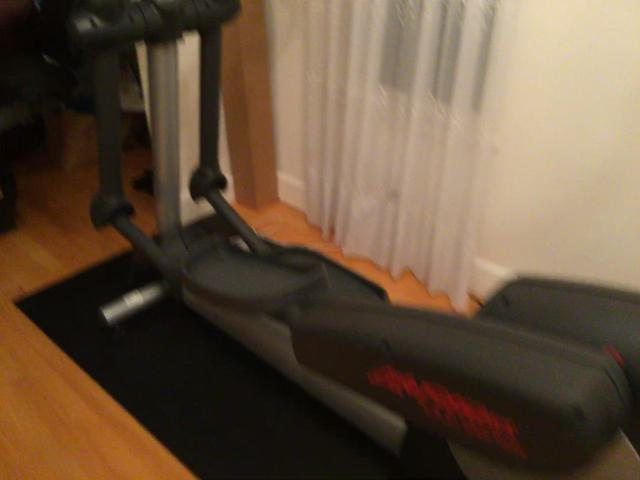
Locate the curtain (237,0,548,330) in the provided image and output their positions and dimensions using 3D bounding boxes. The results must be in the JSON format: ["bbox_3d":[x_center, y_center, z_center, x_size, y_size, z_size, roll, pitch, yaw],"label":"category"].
[{"bbox_3d":[0.150,-0.720,1.800,1.040,1.820,0.220,28,40,37],"label":"curtain"}]
